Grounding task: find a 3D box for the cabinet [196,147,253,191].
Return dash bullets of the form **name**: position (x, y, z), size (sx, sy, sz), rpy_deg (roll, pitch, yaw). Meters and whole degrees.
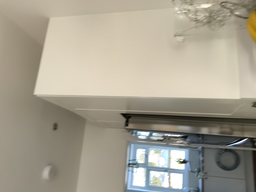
- **cabinet**: position (1.830, 1.560, 4.130), size (0.610, 0.890, 0.990), rpy_deg (55, -142, -68)
